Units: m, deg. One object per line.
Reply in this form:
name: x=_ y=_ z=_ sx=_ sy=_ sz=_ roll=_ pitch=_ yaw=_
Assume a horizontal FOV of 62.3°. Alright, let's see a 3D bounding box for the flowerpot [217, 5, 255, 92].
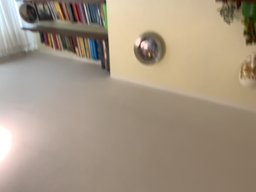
flowerpot: x=0.760 y=-0.300 z=1.350 sx=0.250 sy=0.500 sz=0.140 roll=16 pitch=-148 yaw=30
